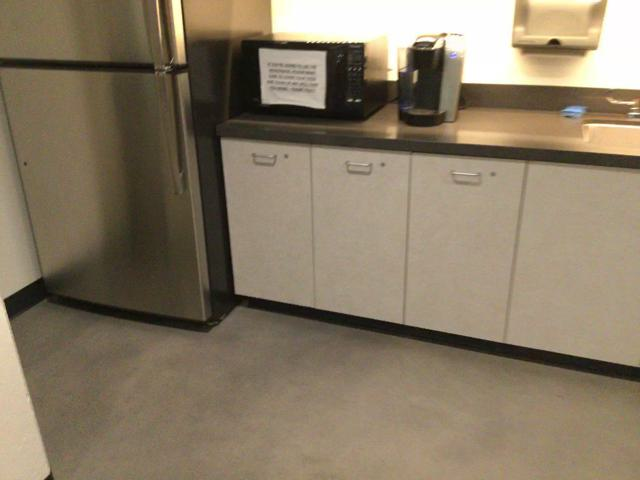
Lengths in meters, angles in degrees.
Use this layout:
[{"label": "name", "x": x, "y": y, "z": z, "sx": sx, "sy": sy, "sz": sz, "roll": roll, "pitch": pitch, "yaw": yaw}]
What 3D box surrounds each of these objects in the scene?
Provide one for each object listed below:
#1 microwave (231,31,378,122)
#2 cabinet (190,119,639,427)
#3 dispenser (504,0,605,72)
[{"label": "microwave", "x": -0.060, "y": -0.620, "z": 2.210, "sx": 0.540, "sy": 0.310, "sz": 0.120, "roll": 6, "pitch": 23, "yaw": 23}, {"label": "cabinet", "x": 0.580, "y": 0.080, "z": 1.950, "sx": 2.130, "sy": 0.910, "sz": 0.240, "roll": 6, "pitch": 23, "yaw": 23}, {"label": "dispenser", "x": 0.830, "y": -0.770, "z": 2.040, "sx": 0.300, "sy": 0.320, "sz": 0.230, "roll": 6, "pitch": 20, "yaw": 23}]
